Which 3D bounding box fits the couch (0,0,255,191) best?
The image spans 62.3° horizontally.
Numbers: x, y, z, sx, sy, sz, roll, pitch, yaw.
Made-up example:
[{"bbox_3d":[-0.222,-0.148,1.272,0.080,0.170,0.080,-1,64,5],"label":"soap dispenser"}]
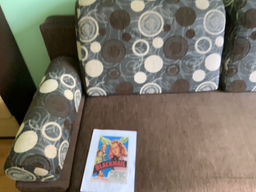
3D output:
[{"bbox_3d":[0.490,0.030,1.140,2.010,0.880,0.930,-1,45,0],"label":"couch"}]
